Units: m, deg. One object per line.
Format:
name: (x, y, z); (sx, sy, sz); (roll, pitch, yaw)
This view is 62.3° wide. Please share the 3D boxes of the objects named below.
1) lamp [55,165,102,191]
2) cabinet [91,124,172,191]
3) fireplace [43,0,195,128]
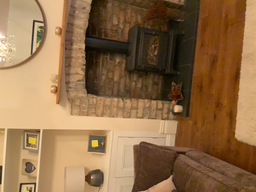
lamp: (-0.560, 0.950, 2.360); (0.300, 0.450, 0.250); (178, 96, -68)
cabinet: (0.030, 0.940, 2.580); (0.400, 0.830, 1.110); (-177, 91, -68)
fireplace: (-0.100, -0.530, 2.360); (0.650, 1.450, 1.630); (-177, 91, -68)
